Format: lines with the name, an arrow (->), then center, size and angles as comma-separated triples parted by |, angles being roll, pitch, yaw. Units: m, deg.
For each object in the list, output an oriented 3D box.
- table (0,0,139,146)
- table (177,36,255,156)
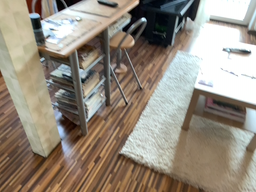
table -> -0.330, -0.330, 1.800 | 0.390, 0.800, 1.180 | 18, 42, 16
table -> 0.850, -0.070, 1.850 | 0.550, 0.460, 0.910 | 18, 42, 16
